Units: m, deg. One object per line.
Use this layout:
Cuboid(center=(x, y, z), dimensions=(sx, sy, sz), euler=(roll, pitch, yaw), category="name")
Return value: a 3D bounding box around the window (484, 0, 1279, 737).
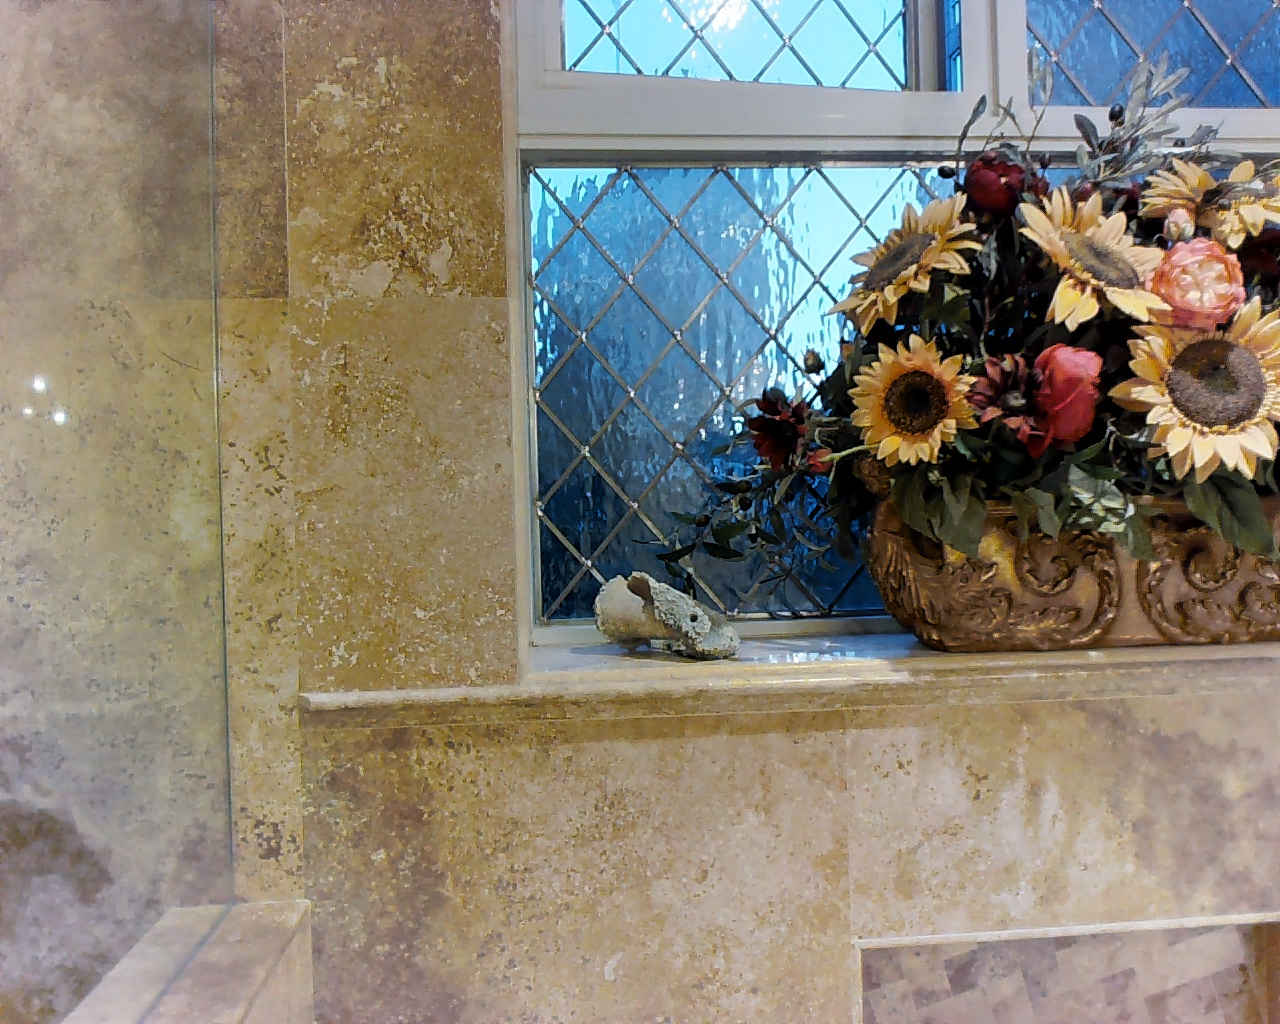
Cuboid(center=(0.500, -0.420, 1.330), dimensions=(1.350, 1.300, 0.260), euler=(-1, 1, -4), category="window")
